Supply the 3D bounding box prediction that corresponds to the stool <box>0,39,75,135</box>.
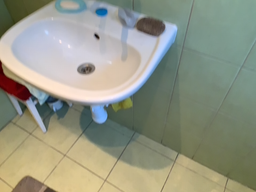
[{"bbox_3d":[-0.610,-0.050,1.360,0.300,0.450,0.320,23,56,19],"label":"stool"}]
